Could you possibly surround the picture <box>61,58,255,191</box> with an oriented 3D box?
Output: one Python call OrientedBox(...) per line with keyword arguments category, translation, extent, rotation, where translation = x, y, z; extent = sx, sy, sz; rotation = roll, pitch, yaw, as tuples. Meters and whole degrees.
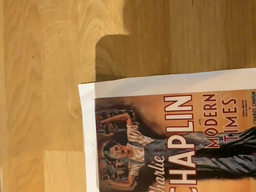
OrientedBox(category="picture", translation=(0.080, 0.070, 0.290), extent=(0.330, 0.050, 0.220), rotation=(-4, 90, 11))
